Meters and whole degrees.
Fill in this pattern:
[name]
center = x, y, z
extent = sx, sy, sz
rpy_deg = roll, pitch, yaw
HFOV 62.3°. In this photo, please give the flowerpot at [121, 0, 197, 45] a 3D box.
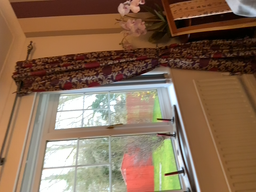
[flowerpot]
center = 0.290, -0.770, 2.210
extent = 0.290, 0.710, 0.330
rpy_deg = 91, 175, -57
